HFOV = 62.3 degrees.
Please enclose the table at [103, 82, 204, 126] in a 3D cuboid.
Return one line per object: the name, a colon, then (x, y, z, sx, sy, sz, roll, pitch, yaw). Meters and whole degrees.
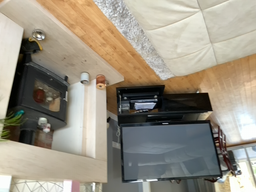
table: (0.290, 0.120, 2.830, 1.210, 0.370, 0.510, -2, 154, -5)
